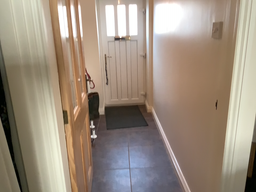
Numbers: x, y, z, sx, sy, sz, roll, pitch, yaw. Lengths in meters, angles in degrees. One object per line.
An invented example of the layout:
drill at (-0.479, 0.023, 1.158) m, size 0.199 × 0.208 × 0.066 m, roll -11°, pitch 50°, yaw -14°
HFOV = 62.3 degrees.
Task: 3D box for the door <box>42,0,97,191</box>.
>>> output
door at (-0.370, -0.050, 1.570) m, size 0.070 × 1.990 × 0.880 m, roll -2°, pitch 17°, yaw -2°
